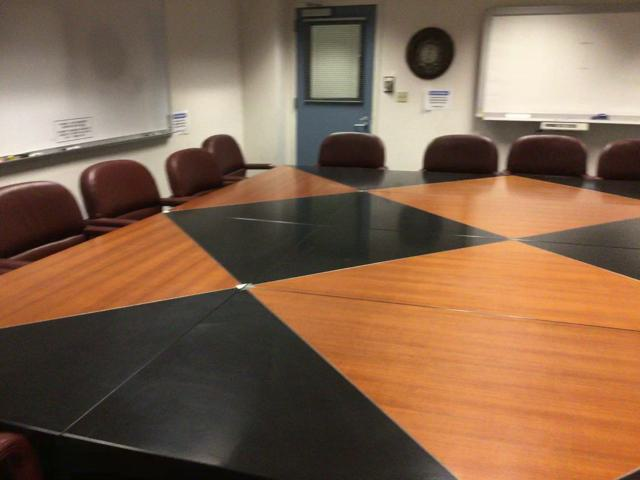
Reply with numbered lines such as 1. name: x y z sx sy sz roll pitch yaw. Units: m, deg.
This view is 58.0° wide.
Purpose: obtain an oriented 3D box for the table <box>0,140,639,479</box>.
1. table: 0.860 -0.010 2.530 3.680 0.250 3.590 7 17 18

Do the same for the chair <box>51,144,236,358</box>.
1. chair: -0.920 0.010 3.190 0.650 0.960 0.670 7 17 18

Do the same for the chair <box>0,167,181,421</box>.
1. chair: -1.090 0.190 2.600 0.650 0.900 0.600 7 17 18

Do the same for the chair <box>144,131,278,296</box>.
1. chair: -0.690 -0.210 3.840 0.630 0.920 0.610 7 17 18
